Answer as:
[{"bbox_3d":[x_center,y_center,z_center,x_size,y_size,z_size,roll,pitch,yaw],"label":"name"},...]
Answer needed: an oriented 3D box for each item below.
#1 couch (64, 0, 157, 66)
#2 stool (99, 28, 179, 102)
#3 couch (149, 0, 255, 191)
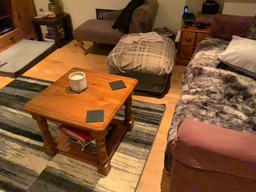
[{"bbox_3d":[-0.200,-0.920,2.880,1.030,0.690,0.560,11,38,17],"label":"couch"},{"bbox_3d":[0.150,-0.370,2.290,0.660,0.470,0.660,9,38,15],"label":"stool"},{"bbox_3d":[0.900,-0.090,1.490,0.990,0.900,1.860,12,38,18],"label":"couch"}]
